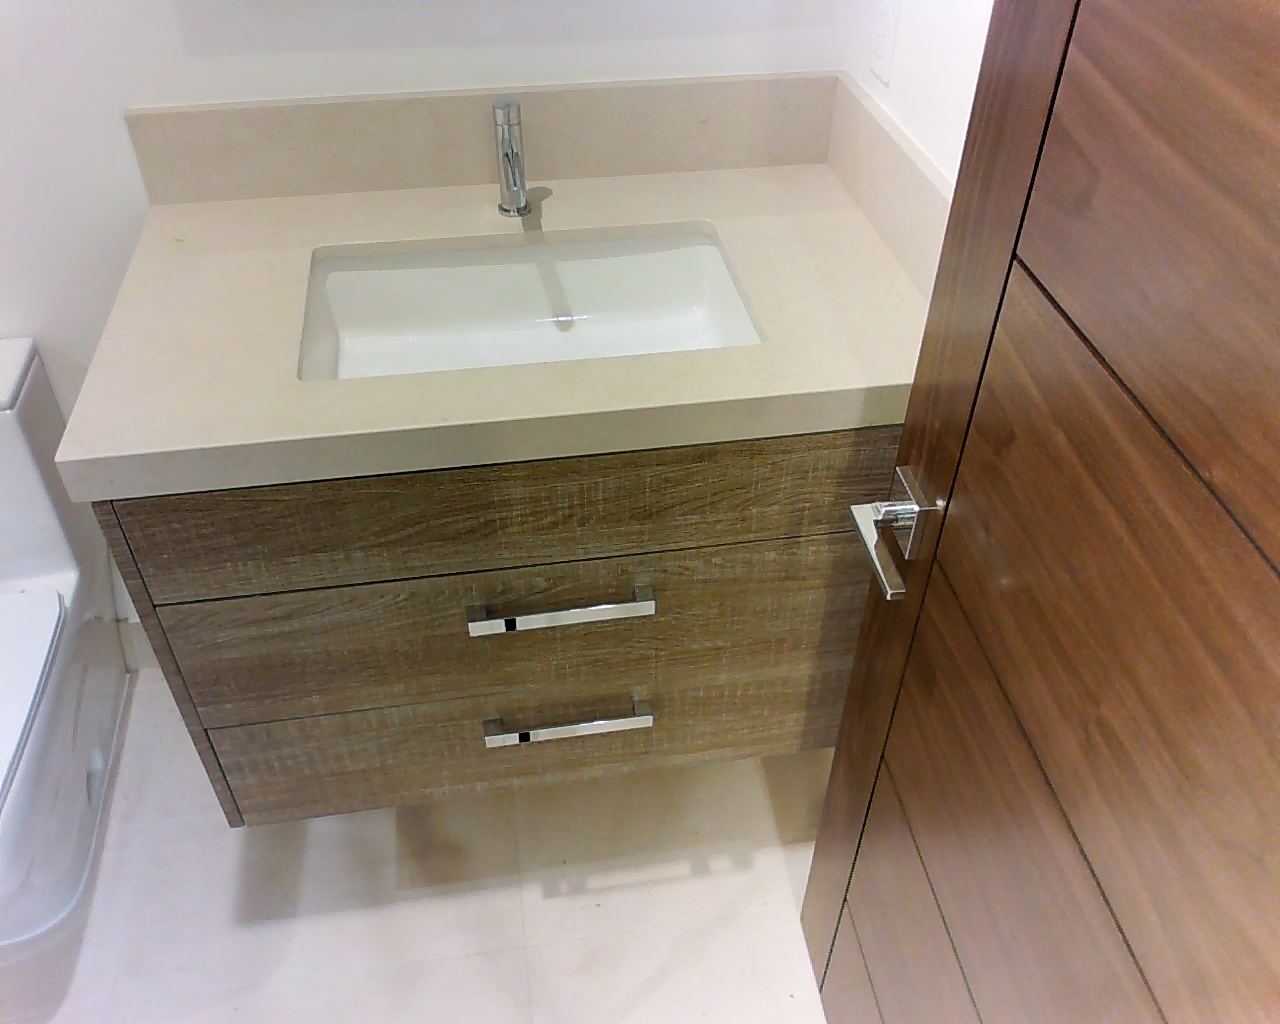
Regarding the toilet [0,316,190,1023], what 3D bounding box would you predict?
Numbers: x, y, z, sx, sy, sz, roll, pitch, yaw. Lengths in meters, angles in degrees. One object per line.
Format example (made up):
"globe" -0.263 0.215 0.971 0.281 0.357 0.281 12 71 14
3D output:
"toilet" -1.050 0.250 1.530 0.480 0.740 0.720 -6 42 -6
